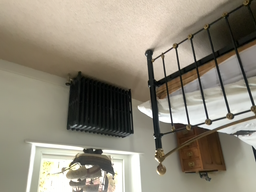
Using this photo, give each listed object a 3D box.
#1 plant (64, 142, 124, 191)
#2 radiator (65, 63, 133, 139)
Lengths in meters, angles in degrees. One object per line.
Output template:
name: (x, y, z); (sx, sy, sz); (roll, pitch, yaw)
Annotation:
plant: (-0.370, 0.840, 2.280); (0.420, 0.570, 0.490); (16, 150, -37)
radiator: (-0.280, 0.080, 2.290); (0.750, 0.680, 0.120); (17, 150, -38)
